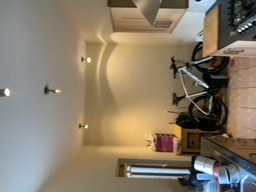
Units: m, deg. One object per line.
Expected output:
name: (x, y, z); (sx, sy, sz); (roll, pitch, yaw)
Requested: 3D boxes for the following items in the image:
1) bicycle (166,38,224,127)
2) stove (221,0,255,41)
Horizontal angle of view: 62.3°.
bicycle: (1.340, -0.260, 4.400); (0.590, 0.920, 1.690); (-113, 25, -87)
stove: (1.000, -0.830, 1.800); (0.720, 0.060, 0.540); (-150, 62, -89)
